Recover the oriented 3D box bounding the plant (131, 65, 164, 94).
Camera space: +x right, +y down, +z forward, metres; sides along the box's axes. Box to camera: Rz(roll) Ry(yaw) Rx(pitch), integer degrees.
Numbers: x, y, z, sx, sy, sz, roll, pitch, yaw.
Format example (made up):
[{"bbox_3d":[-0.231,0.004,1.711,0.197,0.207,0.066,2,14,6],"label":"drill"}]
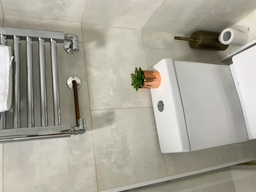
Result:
[{"bbox_3d":[0.080,-0.070,0.910,0.100,0.090,0.090,143,121,-60],"label":"plant"}]
